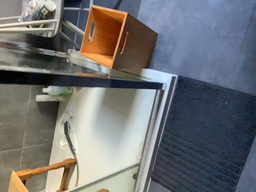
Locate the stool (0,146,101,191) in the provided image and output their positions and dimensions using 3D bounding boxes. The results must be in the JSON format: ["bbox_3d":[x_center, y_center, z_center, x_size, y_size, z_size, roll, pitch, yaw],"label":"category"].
[{"bbox_3d":[-0.530,0.600,1.390,0.440,0.480,0.270,27,106,37],"label":"stool"}]
